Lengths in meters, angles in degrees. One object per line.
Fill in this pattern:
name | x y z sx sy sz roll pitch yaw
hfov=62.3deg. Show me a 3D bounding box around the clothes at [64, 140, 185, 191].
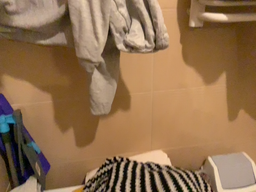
clothes | -0.010 0.360 0.670 0.360 0.170 0.440 -3 28 -3
